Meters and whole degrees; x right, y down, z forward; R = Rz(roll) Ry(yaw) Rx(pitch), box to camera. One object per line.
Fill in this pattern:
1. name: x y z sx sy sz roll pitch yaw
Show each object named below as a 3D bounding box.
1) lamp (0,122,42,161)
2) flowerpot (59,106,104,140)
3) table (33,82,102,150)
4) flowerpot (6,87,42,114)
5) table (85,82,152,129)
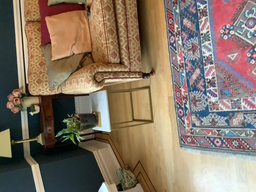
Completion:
1. lamp: -1.320 0.500 2.350 0.330 0.600 0.310 3 96 56
2. flowerpot: -0.400 0.220 1.830 0.220 0.310 0.240 -3 90 56
3. table: -0.770 0.220 2.720 0.340 0.740 0.750 -5 89 56
4. flowerpot: -1.210 0.050 2.460 0.220 0.330 0.280 -12 83 55
5. table: -0.090 0.080 1.930 0.370 0.460 0.360 -7 87 56
